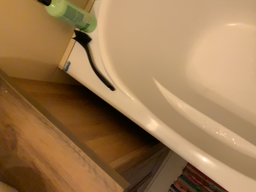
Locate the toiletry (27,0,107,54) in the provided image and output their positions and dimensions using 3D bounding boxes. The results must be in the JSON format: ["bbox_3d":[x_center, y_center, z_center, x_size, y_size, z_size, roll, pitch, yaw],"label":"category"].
[{"bbox_3d":[-0.160,-0.290,0.640,0.090,0.160,0.280,31,102,23],"label":"toiletry"}]
